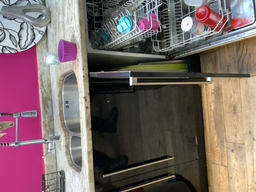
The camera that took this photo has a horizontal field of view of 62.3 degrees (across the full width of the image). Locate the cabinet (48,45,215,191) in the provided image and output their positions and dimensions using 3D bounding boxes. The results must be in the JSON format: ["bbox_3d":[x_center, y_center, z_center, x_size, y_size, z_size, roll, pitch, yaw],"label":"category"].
[{"bbox_3d":[0.010,0.380,1.480,0.670,0.880,1.230,-8,86,58],"label":"cabinet"}]

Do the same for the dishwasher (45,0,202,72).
[{"bbox_3d":[-0.060,-0.570,1.530,0.670,0.880,0.660,-8,86,58],"label":"dishwasher"}]
